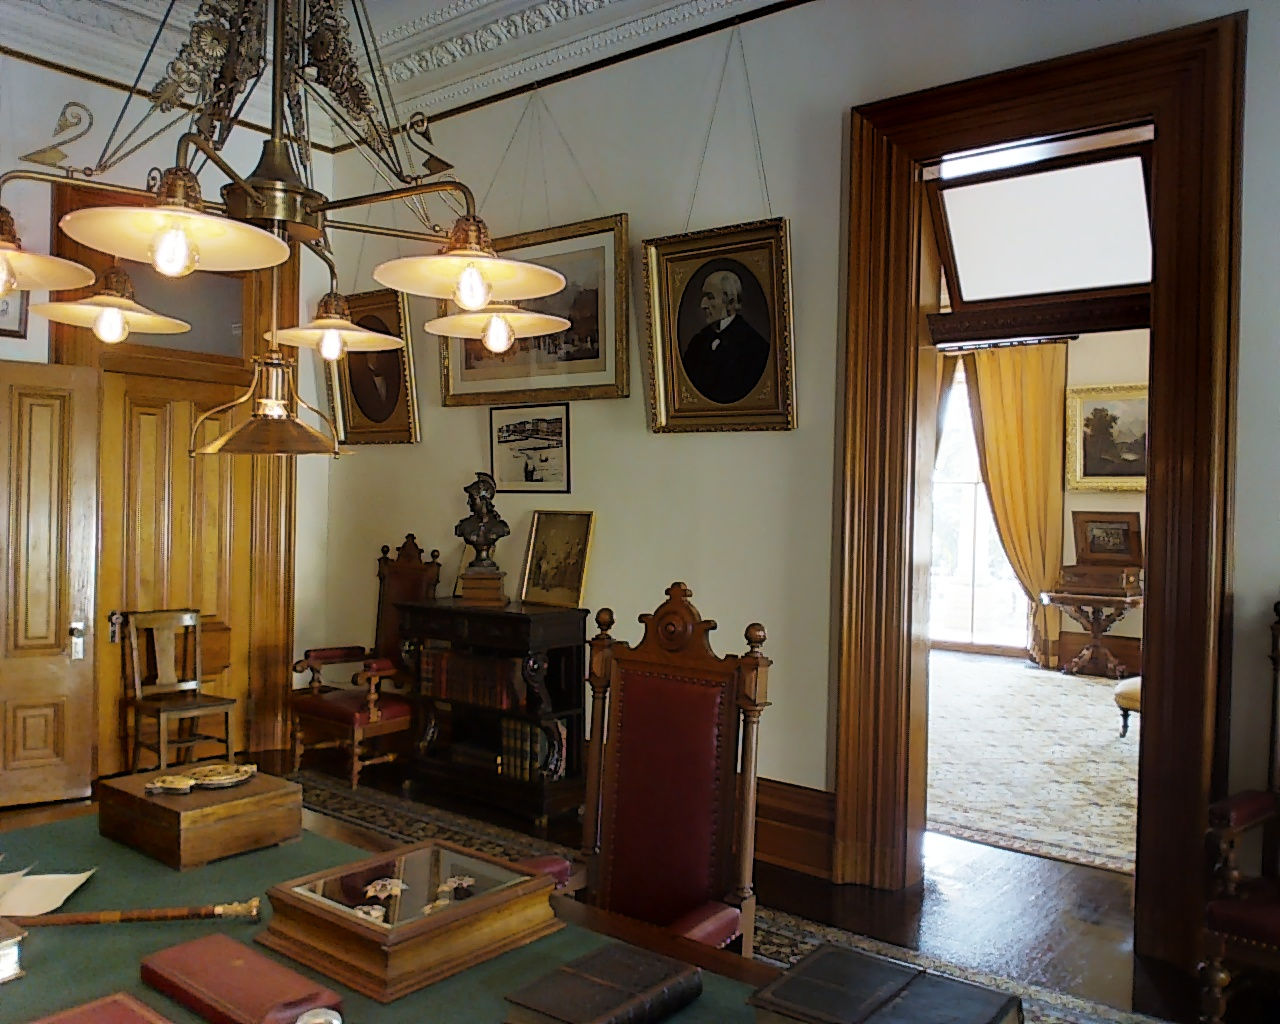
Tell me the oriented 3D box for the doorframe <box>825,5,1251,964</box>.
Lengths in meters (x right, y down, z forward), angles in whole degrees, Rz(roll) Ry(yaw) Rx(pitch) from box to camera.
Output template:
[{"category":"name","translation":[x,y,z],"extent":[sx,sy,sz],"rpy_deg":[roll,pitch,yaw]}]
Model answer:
[{"category":"doorframe","translation":[1.470,-0.100,4.170],"extent":[1.470,3.210,0.280],"rpy_deg":[1,1,39]}]

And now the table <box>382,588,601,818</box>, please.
[{"category":"table","translation":[-0.800,0.950,5.670],"extent":[1.120,1.000,0.490],"rpy_deg":[1,1,39]}]
